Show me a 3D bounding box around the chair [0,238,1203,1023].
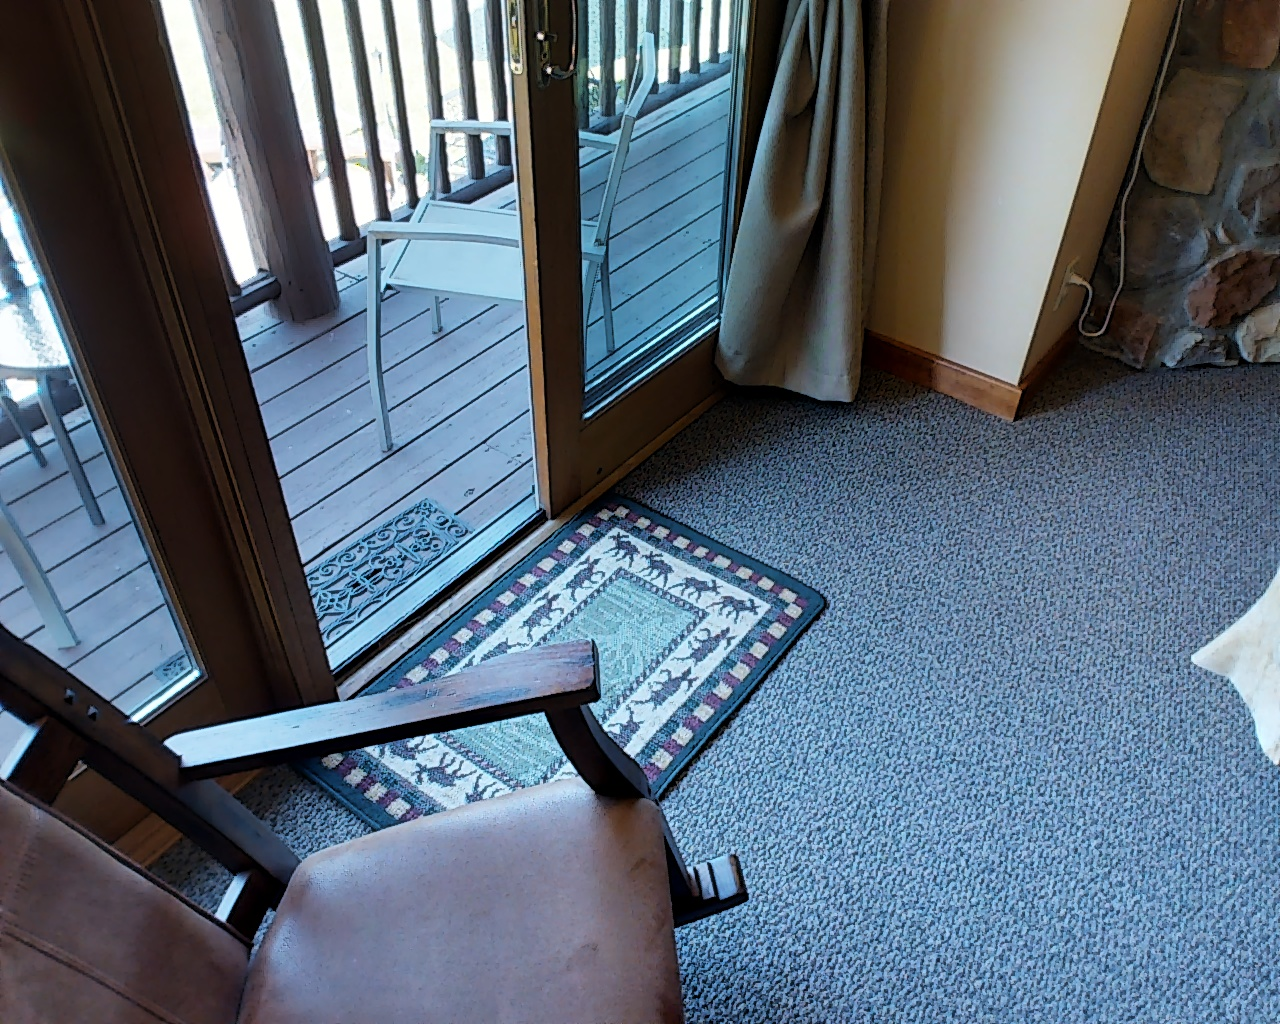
[{"bbox_3d":[-0.320,0.430,1.030,1.040,1.120,0.690,-3,41,-4],"label":"chair"}]

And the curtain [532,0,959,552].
[{"bbox_3d":[0.240,-1.010,1.910,0.370,2.090,0.890,27,48,27],"label":"curtain"}]
